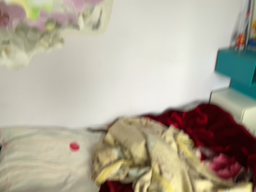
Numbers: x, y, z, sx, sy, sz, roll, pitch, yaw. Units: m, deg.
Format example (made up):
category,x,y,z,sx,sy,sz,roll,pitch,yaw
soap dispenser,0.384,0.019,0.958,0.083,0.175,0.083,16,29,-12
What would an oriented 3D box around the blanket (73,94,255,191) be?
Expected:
category,x,y,z,sx,sy,sz,roll,pitch,yaw
blanket,0.220,0.440,1.480,0.980,0.300,1.140,-11,29,-19
